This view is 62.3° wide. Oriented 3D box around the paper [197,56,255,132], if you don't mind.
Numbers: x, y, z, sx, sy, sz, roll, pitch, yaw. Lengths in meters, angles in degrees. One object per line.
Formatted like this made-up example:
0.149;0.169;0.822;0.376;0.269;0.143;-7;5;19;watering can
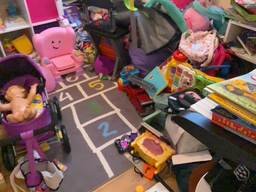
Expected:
0.390;-0.020;0.600;0.310;0.040;0.220;-22;43;-26;paper
